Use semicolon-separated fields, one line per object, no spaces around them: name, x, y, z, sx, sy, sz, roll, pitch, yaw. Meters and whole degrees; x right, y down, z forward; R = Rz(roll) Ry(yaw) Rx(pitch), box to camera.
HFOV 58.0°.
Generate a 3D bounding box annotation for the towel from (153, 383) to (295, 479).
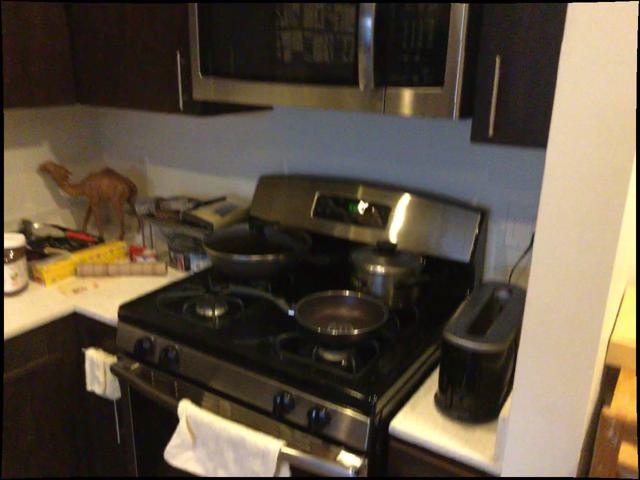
towel;-0.219;0.481;1.270;0.319;0.210;0.080;18;25;25
